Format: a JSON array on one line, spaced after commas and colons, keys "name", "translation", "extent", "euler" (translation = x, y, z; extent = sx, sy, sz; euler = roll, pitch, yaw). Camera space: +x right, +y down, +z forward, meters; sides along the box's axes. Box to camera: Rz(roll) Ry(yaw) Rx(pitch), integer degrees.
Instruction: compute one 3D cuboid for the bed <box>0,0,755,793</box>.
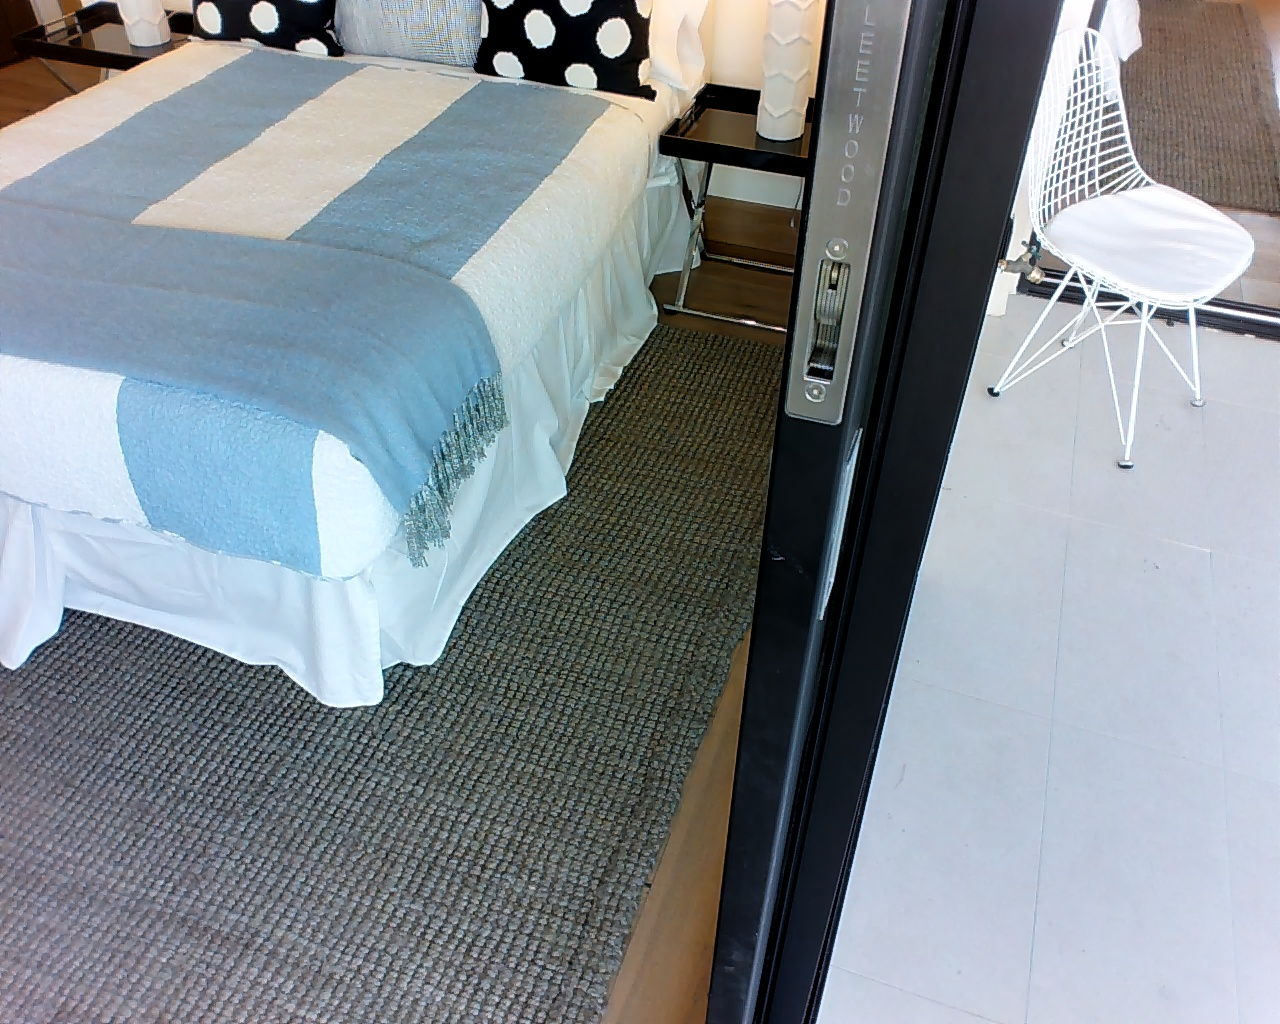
[{"name": "bed", "translation": [-0.770, -0.620, 2.570], "extent": [1.520, 0.680, 2.160], "euler": [14, 44, 14]}]
